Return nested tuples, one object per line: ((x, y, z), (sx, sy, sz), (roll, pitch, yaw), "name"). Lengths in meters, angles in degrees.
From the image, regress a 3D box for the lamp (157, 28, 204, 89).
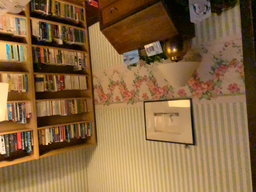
((0.440, -0.290, 1.780), (0.280, 0.440, 0.240), (-3, 179, -44), "lamp")

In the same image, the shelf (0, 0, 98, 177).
((-1.450, -0.230, 2.260), (0.330, 2.090, 2.380), (-5, 179, 45), "shelf")
